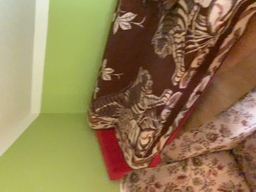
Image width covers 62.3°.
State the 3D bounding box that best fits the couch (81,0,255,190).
[{"bbox_3d":[0.200,-0.170,1.950,0.900,0.730,2.030,61,140,44],"label":"couch"}]
